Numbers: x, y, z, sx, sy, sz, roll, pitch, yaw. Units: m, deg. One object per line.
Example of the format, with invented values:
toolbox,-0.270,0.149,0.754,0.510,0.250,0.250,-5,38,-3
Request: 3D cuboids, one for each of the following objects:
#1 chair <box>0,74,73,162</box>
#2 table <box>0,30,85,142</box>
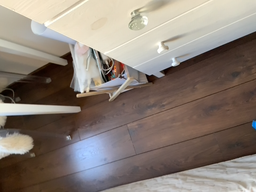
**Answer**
chair,-0.790,0.160,1.180,0.470,0.790,0.390,-25,79,19
table,-0.850,0.020,1.210,0.810,0.790,0.400,-21,80,20
